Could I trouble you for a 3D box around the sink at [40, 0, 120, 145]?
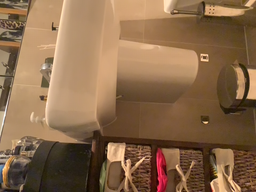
[{"bbox_3d":[-0.120,-0.150,0.780,0.480,0.150,0.610,108,166,-73],"label":"sink"}]
